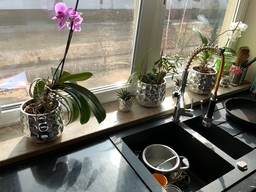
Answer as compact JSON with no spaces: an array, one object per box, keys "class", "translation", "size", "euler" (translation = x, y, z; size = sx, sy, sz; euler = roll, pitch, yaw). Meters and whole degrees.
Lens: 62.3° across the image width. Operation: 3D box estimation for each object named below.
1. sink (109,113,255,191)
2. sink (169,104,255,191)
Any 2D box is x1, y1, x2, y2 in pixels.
[{"class":"sink","translation":[0.220,0.350,1.050],"size":[0.430,0.210,0.530],"euler":[-13,32,-29]},{"class":"sink","translation":[0.510,0.270,1.200],"size":[0.230,0.180,0.530],"euler":[-13,32,-29]}]
